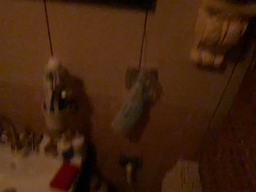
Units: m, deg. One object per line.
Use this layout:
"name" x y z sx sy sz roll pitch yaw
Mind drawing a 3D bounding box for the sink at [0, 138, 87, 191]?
"sink" -0.430 0.330 0.730 0.500 0.160 0.320 7 37 2
